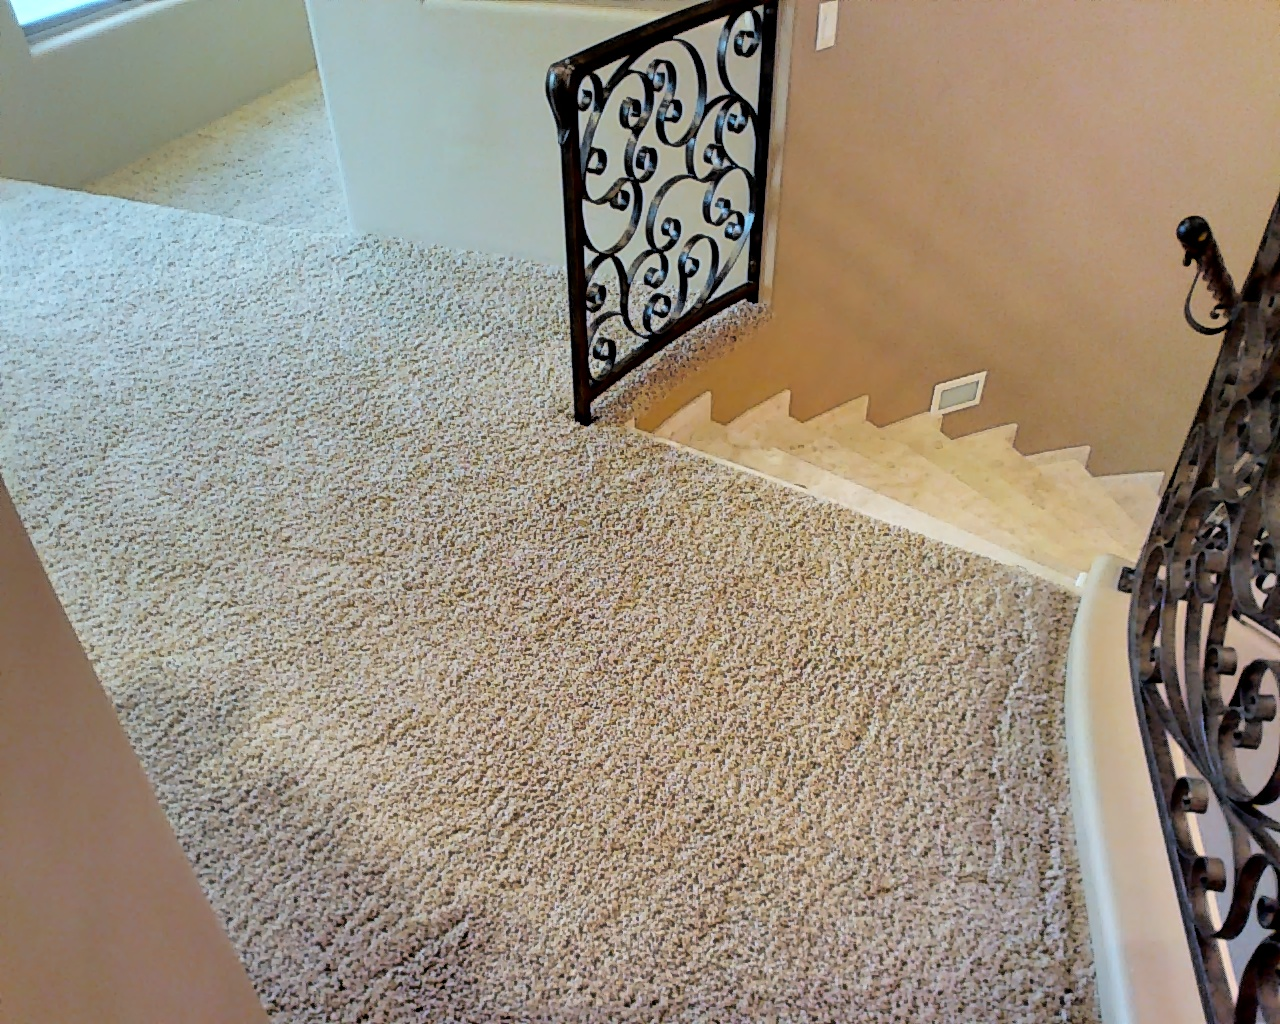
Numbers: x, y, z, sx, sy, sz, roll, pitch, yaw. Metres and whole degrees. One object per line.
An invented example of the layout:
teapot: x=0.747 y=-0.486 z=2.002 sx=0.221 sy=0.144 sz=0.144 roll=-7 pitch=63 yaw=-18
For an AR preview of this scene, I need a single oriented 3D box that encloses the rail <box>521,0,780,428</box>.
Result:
rail: x=0.060 y=-0.810 z=2.750 sx=0.110 sy=0.940 sz=0.830 roll=26 pitch=46 yaw=30
